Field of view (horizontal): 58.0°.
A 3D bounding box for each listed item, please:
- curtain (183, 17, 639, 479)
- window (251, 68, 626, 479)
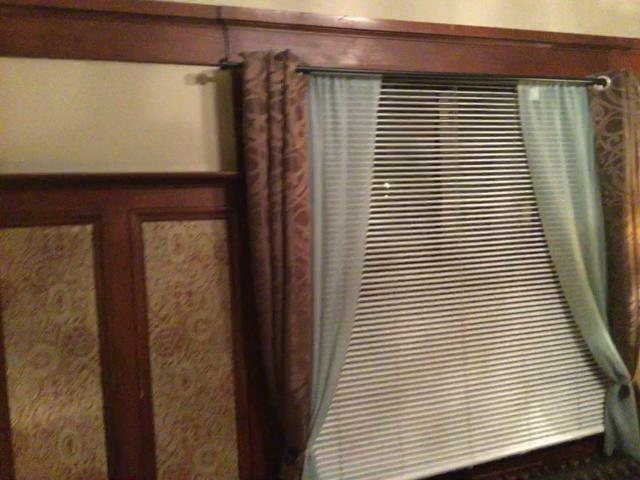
[{"bbox_3d":[0.580,0.320,2.140,1.890,2.120,0.320,-6,1,-19],"label":"curtain"},{"bbox_3d":[0.500,0.200,2.210,1.350,1.660,0.180,-6,1,-19],"label":"window"}]
